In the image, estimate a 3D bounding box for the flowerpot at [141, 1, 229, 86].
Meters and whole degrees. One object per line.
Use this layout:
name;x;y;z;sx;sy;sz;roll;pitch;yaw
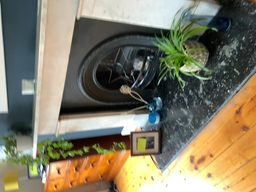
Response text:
flowerpot;0.380;-0.380;1.570;0.470;0.300;0.390;65;144;38
